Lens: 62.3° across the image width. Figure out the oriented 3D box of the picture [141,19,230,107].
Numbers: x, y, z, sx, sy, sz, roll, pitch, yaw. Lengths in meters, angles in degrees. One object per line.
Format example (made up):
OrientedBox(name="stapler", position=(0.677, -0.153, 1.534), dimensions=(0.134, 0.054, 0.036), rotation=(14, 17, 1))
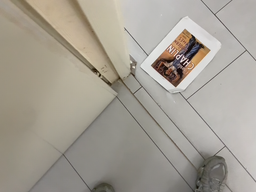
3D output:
OrientedBox(name="picture", position=(0.240, -0.140, 0.890), dimensions=(0.280, 0.020, 0.240), rotation=(-45, 87, -2))
